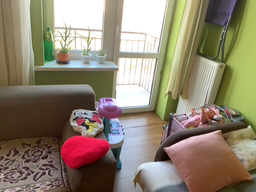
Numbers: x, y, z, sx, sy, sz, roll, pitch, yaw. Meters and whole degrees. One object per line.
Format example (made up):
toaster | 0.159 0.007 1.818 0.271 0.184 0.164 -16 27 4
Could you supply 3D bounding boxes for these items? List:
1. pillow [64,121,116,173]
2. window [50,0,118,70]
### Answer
pillow | -0.290 0.350 1.540 0.310 0.150 0.360 -2 25 -20
window | -0.460 -1.130 2.190 0.660 1.680 0.320 -2 25 -21
